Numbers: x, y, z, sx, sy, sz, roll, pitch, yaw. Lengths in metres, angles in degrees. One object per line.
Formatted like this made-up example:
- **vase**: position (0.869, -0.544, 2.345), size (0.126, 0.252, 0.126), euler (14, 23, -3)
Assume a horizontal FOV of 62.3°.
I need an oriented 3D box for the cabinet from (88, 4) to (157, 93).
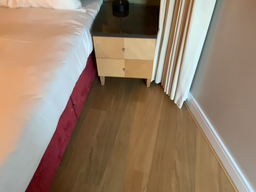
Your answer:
- **cabinet**: position (-0.030, -0.450, 2.010), size (0.520, 0.590, 0.550), euler (3, 48, 2)
